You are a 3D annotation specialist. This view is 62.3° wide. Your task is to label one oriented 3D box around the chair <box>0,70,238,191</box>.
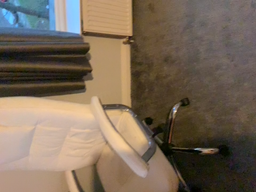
[{"bbox_3d":[-0.130,0.390,1.260,0.750,1.160,0.730,51,131,30],"label":"chair"}]
